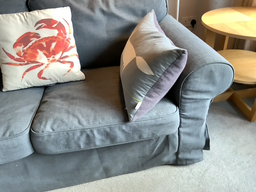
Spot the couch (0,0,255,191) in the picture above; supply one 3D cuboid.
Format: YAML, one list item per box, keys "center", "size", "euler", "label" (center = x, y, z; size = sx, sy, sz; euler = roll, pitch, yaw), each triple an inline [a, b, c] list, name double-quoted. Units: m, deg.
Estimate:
- center: [-0.450, -0.090, 1.170]
  size: [1.760, 0.840, 0.910]
  euler: [-9, 36, -6]
  label: "couch"
